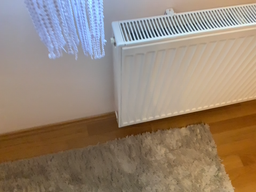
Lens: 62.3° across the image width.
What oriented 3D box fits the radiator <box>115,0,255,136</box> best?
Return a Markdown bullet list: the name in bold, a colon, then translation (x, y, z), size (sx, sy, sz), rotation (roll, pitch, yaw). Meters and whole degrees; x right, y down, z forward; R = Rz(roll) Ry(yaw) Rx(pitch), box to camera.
- **radiator**: translation (0.380, -0.080, 0.990), size (0.860, 0.720, 0.170), rotation (-9, 63, -8)
